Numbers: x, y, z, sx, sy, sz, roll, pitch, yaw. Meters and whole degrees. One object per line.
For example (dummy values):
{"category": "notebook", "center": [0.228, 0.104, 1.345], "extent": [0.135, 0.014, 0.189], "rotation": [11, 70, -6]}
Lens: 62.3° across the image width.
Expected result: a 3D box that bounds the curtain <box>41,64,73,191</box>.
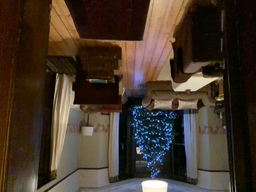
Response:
{"category": "curtain", "center": [-1.630, 0.940, 4.870], "extent": [0.440, 3.360, 0.310], "rotation": [1, 171, 2]}
